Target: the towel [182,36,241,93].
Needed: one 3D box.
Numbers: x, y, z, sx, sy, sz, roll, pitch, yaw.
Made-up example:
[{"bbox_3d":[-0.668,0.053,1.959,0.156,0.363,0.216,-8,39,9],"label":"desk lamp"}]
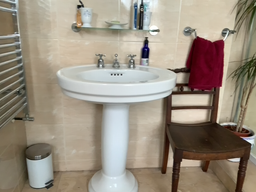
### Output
[{"bbox_3d":[0.560,-0.220,1.460,0.280,0.360,0.180,0,17,-6],"label":"towel"}]
